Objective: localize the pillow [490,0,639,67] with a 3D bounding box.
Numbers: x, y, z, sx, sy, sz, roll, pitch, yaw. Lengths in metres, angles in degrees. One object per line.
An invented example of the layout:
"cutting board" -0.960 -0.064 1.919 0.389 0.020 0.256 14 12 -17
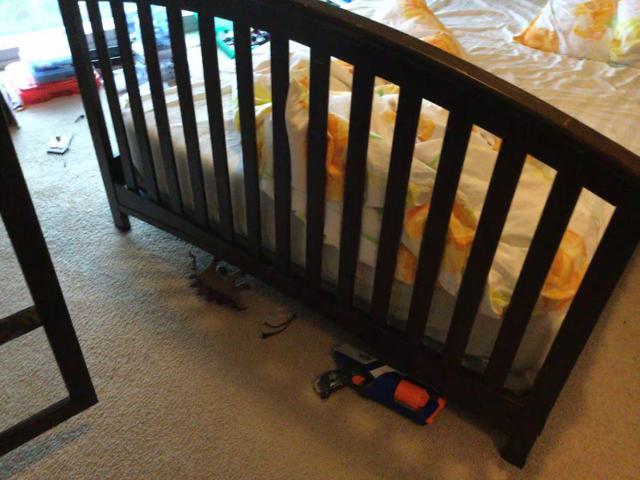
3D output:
"pillow" 1.030 -0.920 2.120 0.530 0.220 0.660 26 47 26

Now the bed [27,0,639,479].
"bed" 0.480 -0.750 1.760 1.480 1.260 2.020 26 47 26
